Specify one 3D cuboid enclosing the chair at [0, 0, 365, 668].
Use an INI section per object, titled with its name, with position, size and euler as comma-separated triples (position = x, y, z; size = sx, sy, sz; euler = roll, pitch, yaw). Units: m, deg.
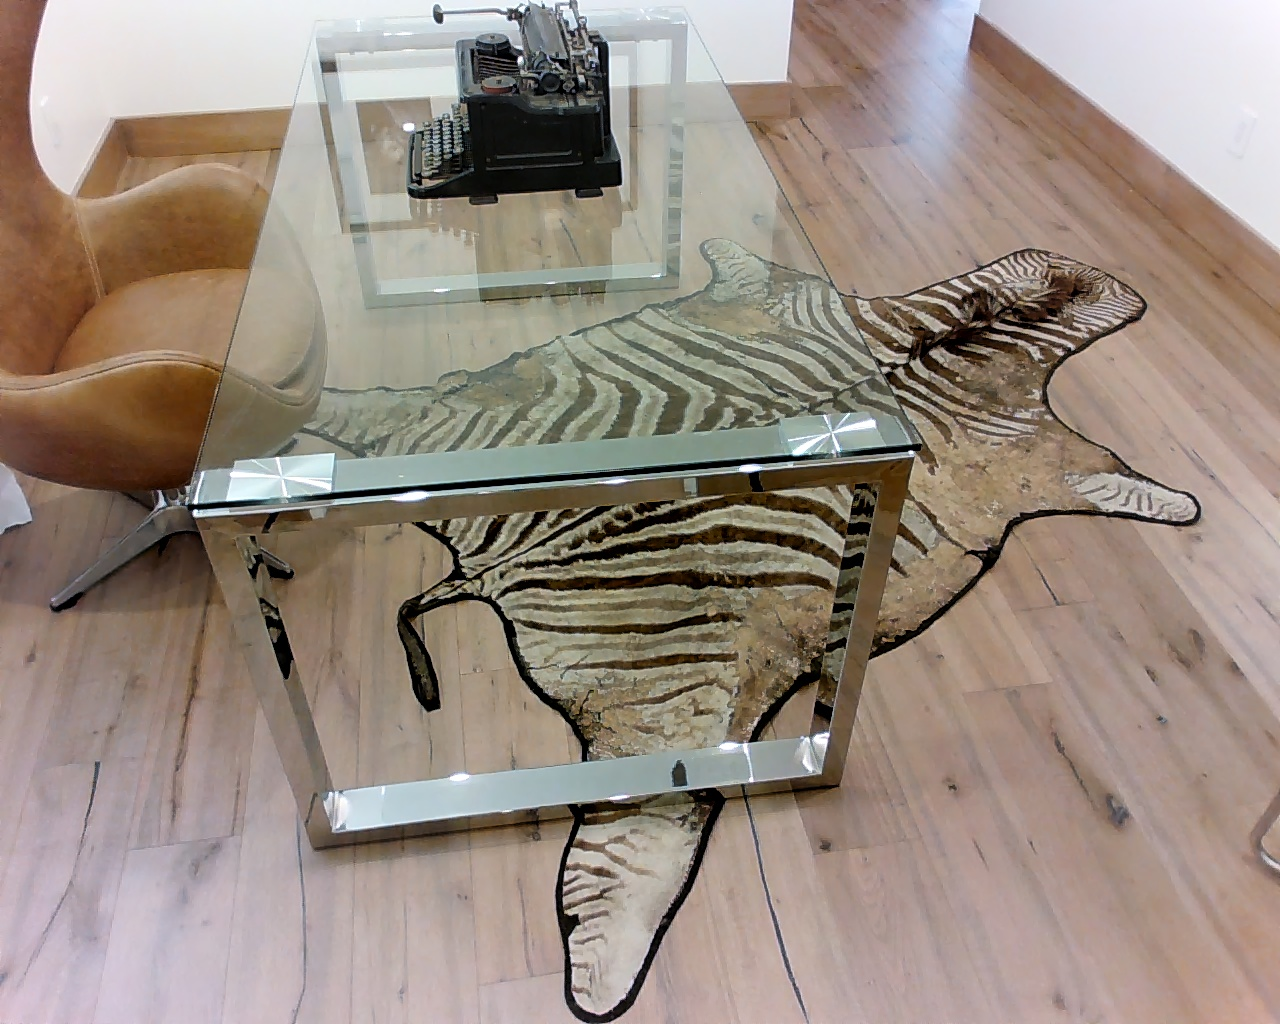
[chair]
position = -1.040, -0.440, 1.970
size = 0.850, 1.110, 0.890
euler = -6, 42, -7
